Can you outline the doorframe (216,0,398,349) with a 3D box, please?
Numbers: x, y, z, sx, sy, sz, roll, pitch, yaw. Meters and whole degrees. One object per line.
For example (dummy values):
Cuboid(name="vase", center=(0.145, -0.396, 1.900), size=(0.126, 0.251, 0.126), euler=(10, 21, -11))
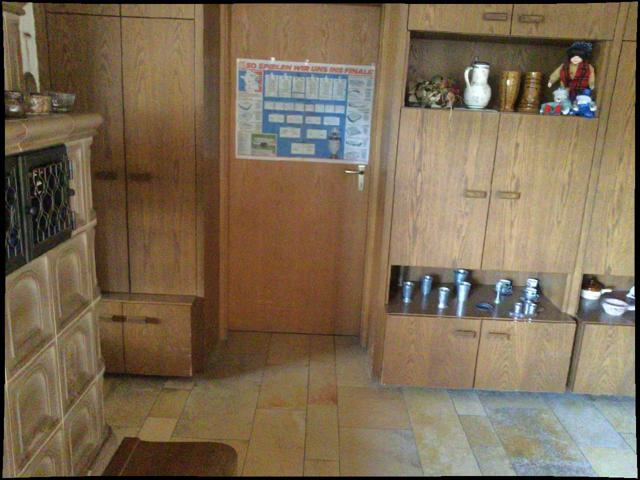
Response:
Cuboid(name="doorframe", center=(-0.110, -0.330, 3.270), size=(0.899, 1.872, 0.330), euler=(3, 16, -2))
